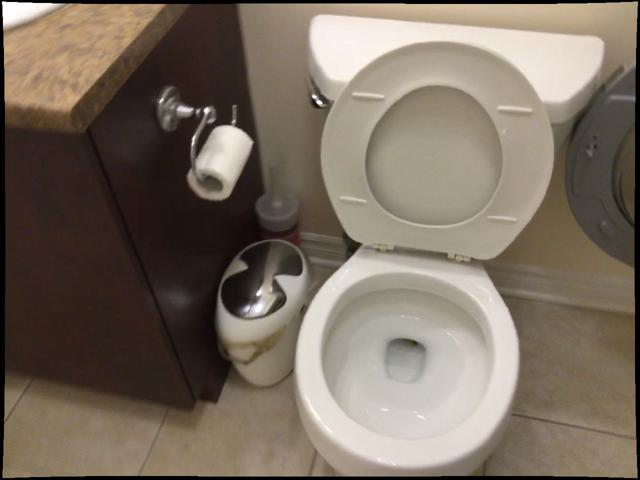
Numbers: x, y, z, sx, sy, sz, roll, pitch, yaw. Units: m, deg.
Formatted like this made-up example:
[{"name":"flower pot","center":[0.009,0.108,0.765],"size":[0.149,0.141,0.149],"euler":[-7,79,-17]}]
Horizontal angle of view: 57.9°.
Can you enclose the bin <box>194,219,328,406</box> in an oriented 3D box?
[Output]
[{"name":"bin","center":[-0.110,0.160,1.270],"size":[0.200,0.290,0.260],"euler":[9,50,9]}]
